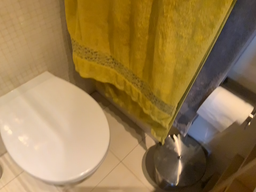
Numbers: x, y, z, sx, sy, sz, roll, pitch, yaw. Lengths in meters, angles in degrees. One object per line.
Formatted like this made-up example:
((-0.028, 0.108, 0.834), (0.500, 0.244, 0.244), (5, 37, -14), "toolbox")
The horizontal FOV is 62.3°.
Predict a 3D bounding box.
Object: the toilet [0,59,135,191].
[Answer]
((-0.310, 0.210, 1.000), (0.530, 0.430, 0.380), (39, 59, 22), "toilet")
